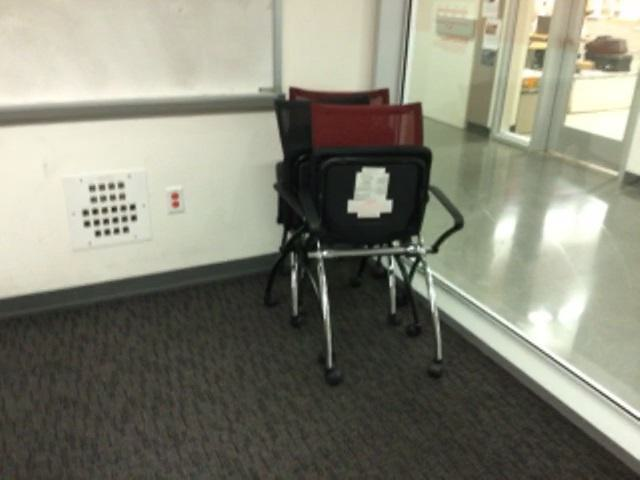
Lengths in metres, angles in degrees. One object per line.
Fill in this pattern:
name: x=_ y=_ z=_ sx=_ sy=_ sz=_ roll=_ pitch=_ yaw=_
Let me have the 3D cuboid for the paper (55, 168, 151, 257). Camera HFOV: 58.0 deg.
paper: x=-0.910 y=-0.120 z=2.450 sx=0.350 sy=0.340 sz=0.060 roll=-9 pitch=24 yaw=-30

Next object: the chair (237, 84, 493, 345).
chair: x=0.110 y=-0.180 z=2.460 sx=0.730 sy=0.840 sz=0.820 roll=-5 pitch=22 yaw=-22
